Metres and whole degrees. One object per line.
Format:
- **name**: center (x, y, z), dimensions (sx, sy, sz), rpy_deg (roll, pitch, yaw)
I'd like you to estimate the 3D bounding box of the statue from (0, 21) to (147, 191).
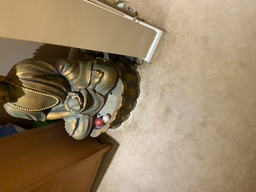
- **statue**: center (-0.400, 0.000, 1.140), dimensions (0.560, 0.780, 0.530), rpy_deg (35, 111, 22)
